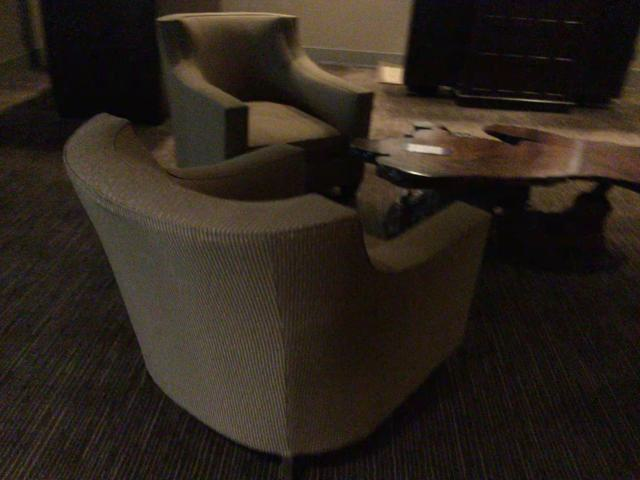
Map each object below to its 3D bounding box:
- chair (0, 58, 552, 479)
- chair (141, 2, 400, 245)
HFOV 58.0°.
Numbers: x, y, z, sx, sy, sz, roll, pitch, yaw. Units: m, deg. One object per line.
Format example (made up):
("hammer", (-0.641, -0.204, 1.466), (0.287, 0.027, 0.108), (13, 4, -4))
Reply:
("chair", (-0.090, 0.090, 1.650), (0.960, 0.890, 1.070), (21, 36, 33))
("chair", (-0.270, -0.680, 3.010), (0.890, 0.880, 0.980), (-18, 34, -28))
